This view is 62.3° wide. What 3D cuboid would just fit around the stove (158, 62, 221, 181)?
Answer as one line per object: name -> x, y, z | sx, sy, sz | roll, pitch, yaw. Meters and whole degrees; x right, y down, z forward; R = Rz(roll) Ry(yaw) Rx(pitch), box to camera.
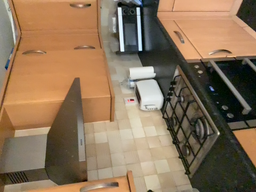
stove -> 0.360, 0.170, 1.440 | 0.580, 0.040, 0.560 | -106, 16, -44
